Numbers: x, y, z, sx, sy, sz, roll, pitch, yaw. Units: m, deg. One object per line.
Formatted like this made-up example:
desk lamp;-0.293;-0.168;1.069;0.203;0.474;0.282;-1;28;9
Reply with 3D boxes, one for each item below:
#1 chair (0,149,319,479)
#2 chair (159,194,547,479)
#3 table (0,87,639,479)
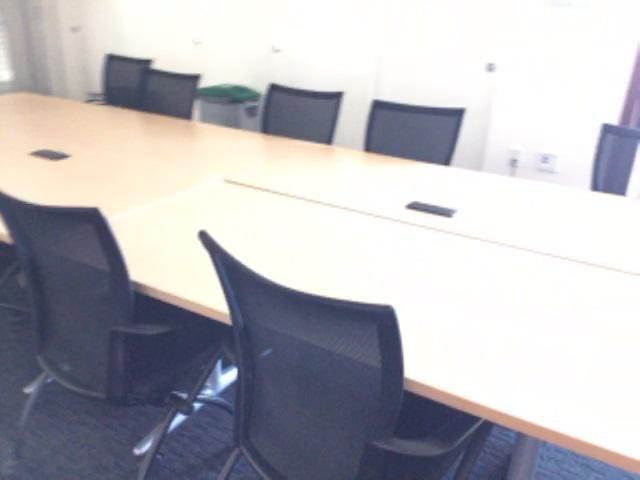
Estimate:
chair;-0.470;0.230;1.620;0.590;0.830;0.700;15;19;26
chair;0.070;0.380;1.290;0.490;0.810;0.660;18;21;35
table;0.550;0.340;1.710;6.660;0.870;1.570;15;19;26
